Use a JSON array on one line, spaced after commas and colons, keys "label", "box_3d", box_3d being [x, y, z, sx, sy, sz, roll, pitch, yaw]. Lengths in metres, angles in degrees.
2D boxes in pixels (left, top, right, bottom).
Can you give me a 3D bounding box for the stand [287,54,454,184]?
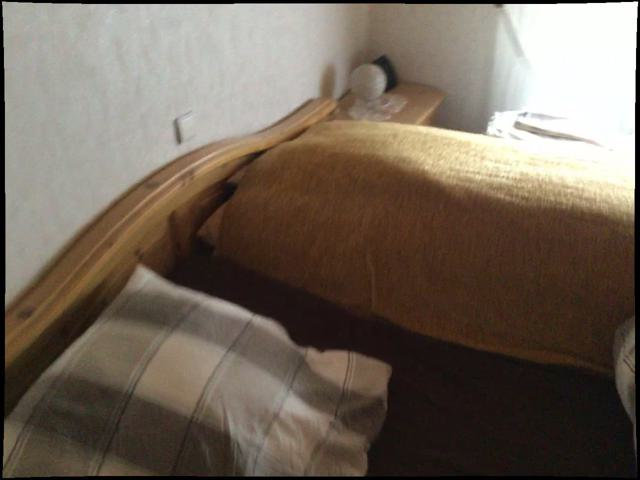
[{"label": "stand", "box_3d": [0.260, -0.601, 2.700, 0.500, 0.260, 0.800, 14, 37, 21]}]
